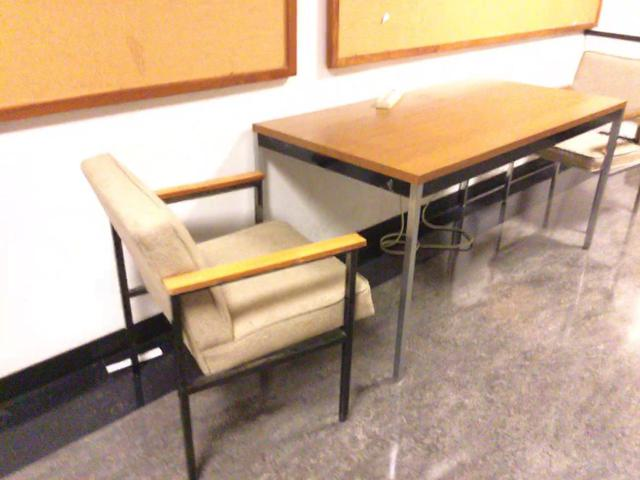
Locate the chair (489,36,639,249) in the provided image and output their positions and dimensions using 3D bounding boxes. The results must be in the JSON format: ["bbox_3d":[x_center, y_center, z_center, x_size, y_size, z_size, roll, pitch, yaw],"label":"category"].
[{"bbox_3d":[1.440,-0.560,3.040,0.690,0.890,0.670,-20,32,-38],"label":"chair"}]

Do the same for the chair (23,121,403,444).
[{"bbox_3d":[-0.310,0.020,1.700,0.740,0.500,0.760,-20,32,-38],"label":"chair"}]
